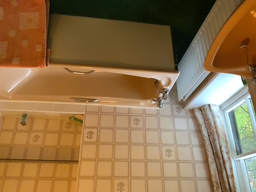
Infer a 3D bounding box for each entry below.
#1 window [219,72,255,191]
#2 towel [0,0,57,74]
[{"bbox_3d":[1.080,0.320,1.670,0.080,1.000,0.920,2,155,-6],"label":"window"},{"bbox_3d":[-0.860,-0.490,1.520,0.570,0.610,0.210,-12,156,-12],"label":"towel"}]
